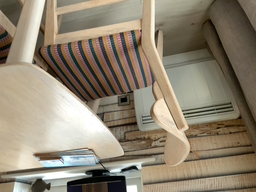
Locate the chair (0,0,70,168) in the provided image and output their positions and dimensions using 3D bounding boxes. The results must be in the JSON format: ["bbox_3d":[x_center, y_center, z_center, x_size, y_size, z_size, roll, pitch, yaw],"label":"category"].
[{"bbox_3d":[-0.640,-0.190,0.870,0.520,0.840,0.560,-10,150,10],"label":"chair"}]

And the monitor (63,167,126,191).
[{"bbox_3d":[-0.220,0.590,1.340,0.390,0.240,0.030,0,151,14],"label":"monitor"}]
